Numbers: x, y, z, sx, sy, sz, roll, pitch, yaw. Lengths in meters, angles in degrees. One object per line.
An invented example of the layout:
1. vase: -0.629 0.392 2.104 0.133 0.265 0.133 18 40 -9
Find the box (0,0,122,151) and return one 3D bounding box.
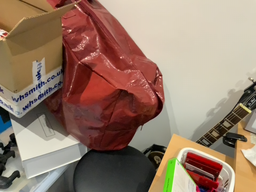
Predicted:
1. box: -0.580 -0.290 0.720 1.020 0.400 0.400 21 37 14
